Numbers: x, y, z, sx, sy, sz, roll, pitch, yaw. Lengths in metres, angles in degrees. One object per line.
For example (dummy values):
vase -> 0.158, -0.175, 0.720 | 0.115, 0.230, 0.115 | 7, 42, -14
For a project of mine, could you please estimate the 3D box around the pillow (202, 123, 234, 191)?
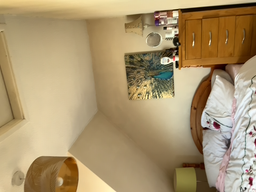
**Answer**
pillow -> 1.050, 0.780, 2.470 | 0.230, 0.610, 0.710 | 9, 109, 25

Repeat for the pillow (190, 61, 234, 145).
pillow -> 0.950, 0.060, 2.340 | 0.210, 0.530, 0.750 | 7, 121, 43
